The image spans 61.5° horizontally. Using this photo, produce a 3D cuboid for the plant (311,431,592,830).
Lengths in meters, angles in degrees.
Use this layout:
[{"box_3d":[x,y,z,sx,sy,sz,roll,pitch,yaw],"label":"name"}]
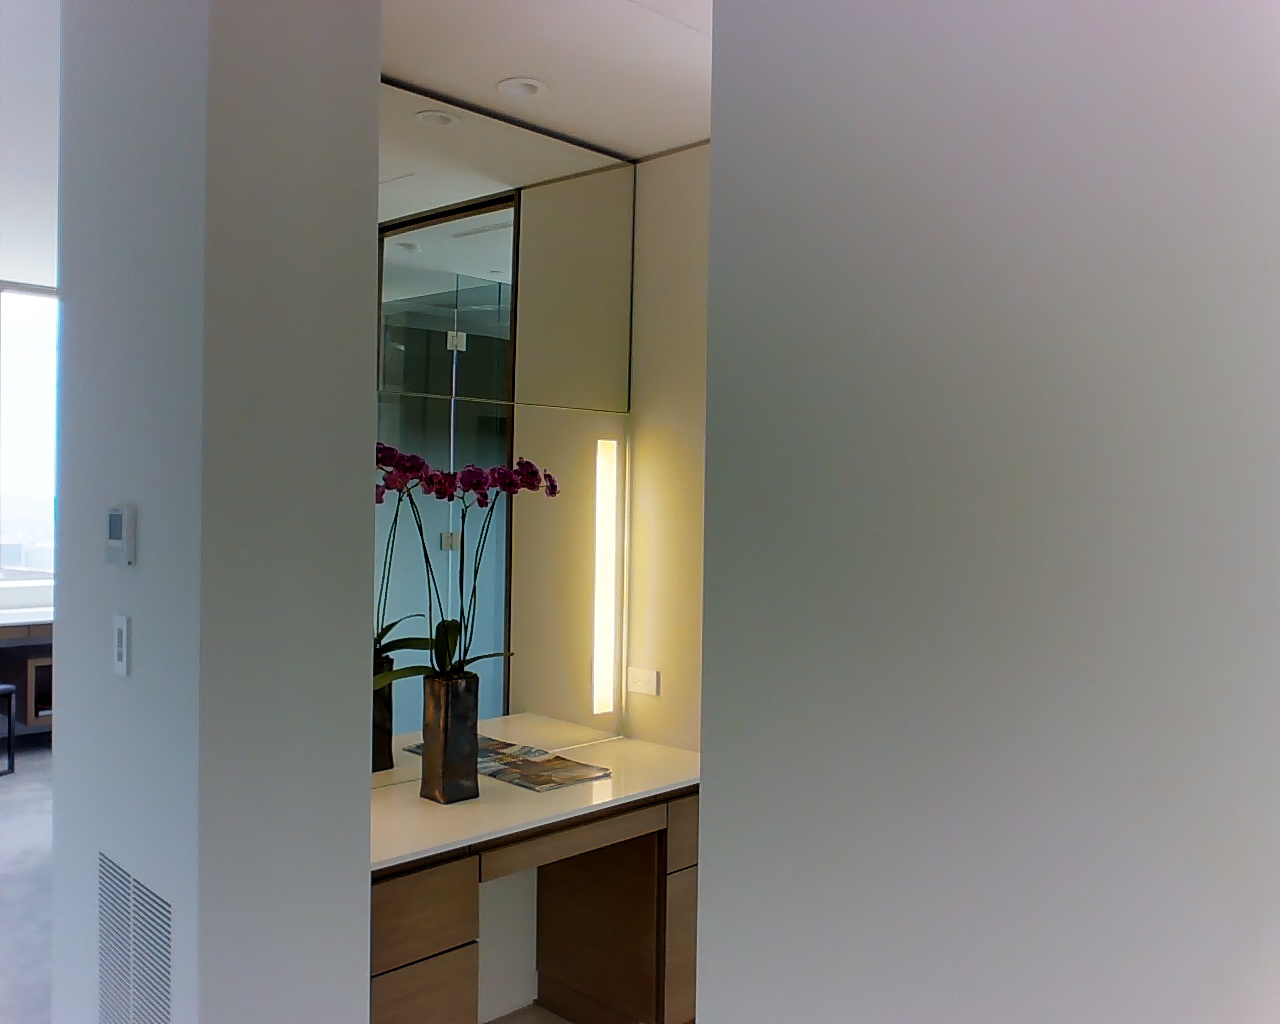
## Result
[{"box_3d":[-0.460,0.260,2.710,0.320,0.880,0.620,2,1,42],"label":"plant"}]
